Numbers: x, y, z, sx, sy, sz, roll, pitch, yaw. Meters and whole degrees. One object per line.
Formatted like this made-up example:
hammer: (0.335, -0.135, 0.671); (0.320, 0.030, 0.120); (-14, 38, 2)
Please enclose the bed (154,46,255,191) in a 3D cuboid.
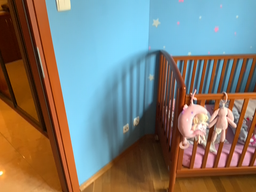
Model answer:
bed: (1.010, 0.170, 1.750); (1.440, 0.940, 0.830); (-1, 30, -1)
